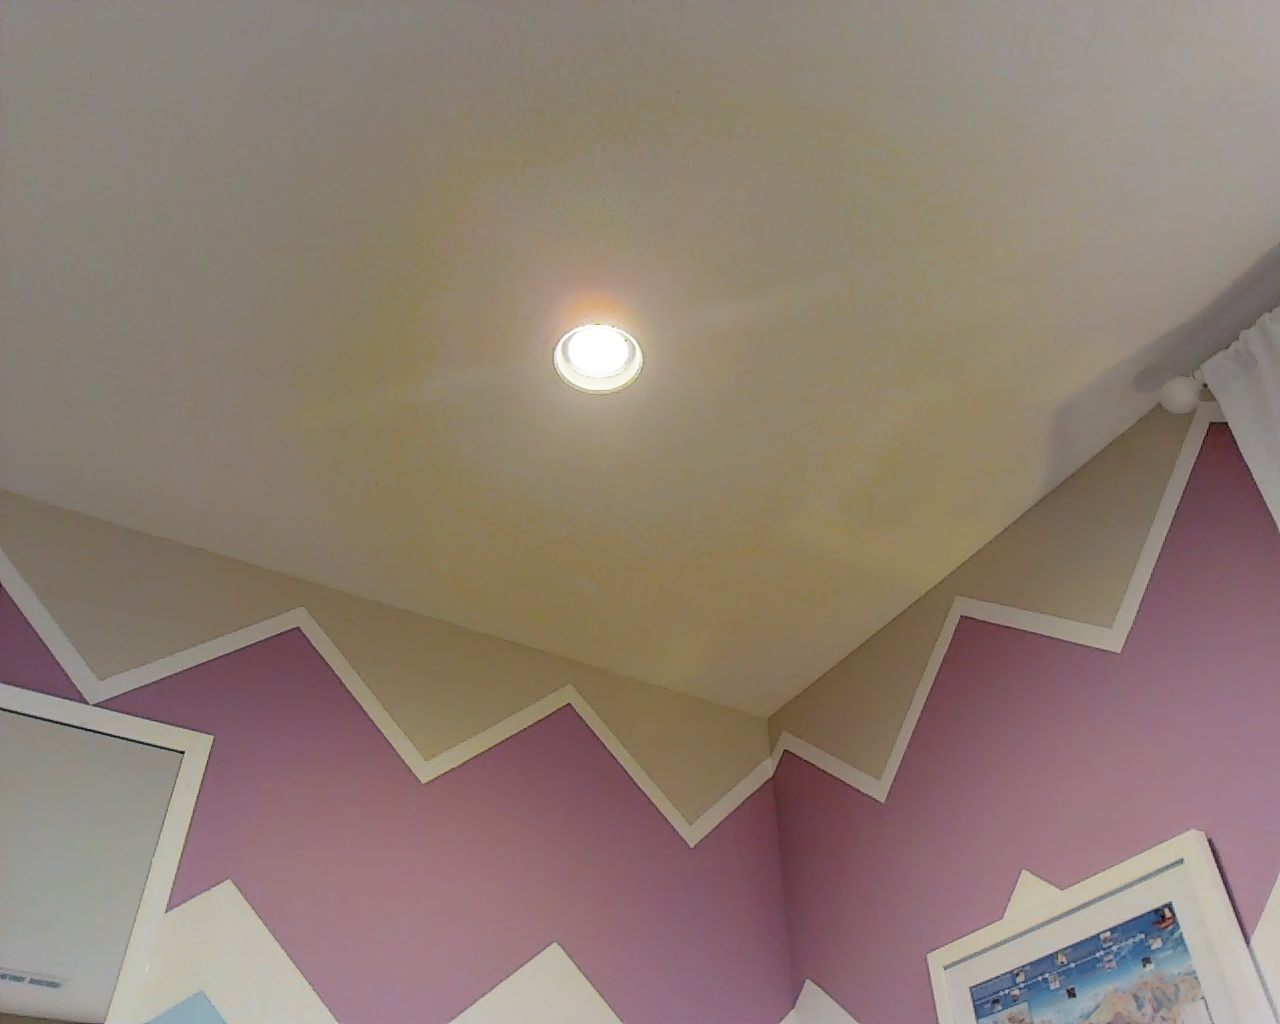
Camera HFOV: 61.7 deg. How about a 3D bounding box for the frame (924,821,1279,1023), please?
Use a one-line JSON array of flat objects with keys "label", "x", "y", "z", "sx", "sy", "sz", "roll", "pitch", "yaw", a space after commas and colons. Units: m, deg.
[{"label": "frame", "x": 0.660, "y": 0.780, "z": 1.560, "sx": 0.030, "sy": 0.460, "sz": 0.580, "roll": 21, "pitch": -45, "yaw": -22}]
